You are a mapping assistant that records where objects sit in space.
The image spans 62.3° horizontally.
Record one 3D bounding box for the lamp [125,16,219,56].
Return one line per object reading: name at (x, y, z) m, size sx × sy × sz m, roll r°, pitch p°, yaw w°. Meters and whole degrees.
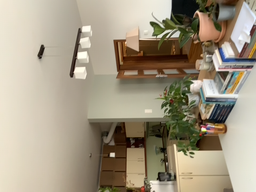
lamp at (0.800, -1.180, 4.180) m, size 0.510 × 1.690 × 0.520 m, roll 87°, pitch -176°, yaw -50°
